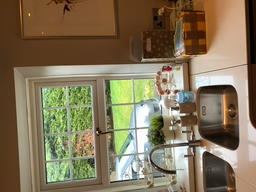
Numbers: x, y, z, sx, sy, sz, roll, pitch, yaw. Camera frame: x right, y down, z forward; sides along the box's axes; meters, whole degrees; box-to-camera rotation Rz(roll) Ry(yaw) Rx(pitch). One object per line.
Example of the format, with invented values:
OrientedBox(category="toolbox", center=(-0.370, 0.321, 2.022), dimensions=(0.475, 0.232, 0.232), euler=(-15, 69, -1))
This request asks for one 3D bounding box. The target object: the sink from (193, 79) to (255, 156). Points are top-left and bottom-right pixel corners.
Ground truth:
OrientedBox(category="sink", center=(0.620, 0.100, 1.260), dimensions=(0.440, 0.260, 0.370), euler=(-179, 87, -81))

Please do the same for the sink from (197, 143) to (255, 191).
OrientedBox(category="sink", center=(0.610, 0.500, 1.280), dimensions=(0.360, 0.220, 0.340), euler=(-179, 87, -81))
